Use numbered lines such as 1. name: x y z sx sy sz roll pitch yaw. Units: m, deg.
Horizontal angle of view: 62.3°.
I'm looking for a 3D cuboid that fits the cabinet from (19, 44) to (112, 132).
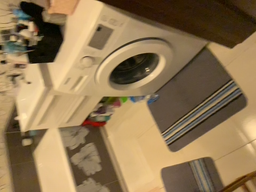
1. cabinet: -0.570 -0.040 1.850 0.640 0.510 0.400 -46 58 38
